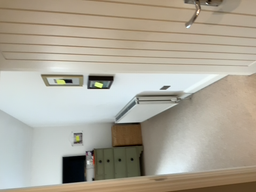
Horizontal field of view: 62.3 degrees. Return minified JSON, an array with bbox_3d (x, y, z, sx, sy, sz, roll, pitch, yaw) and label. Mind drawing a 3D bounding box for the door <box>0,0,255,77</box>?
[{"bbox_3d":[0.170,-0.290,1.210,0.850,1.960,0.040,132,136,-70],"label":"door"}]
